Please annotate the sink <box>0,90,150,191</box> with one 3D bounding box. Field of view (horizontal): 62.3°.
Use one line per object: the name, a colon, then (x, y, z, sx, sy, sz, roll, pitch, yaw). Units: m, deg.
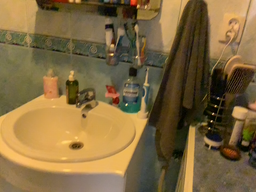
sink: (-0.250, 0.180, 0.920, 0.600, 0.160, 0.510, 10, 23, 12)
